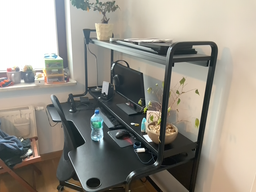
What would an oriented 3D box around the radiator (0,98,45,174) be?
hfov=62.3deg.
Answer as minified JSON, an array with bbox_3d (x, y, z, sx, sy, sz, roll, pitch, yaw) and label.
[{"bbox_3d":[-1.360,0.430,2.050,0.970,0.700,0.170,-7,22,-26],"label":"radiator"}]
